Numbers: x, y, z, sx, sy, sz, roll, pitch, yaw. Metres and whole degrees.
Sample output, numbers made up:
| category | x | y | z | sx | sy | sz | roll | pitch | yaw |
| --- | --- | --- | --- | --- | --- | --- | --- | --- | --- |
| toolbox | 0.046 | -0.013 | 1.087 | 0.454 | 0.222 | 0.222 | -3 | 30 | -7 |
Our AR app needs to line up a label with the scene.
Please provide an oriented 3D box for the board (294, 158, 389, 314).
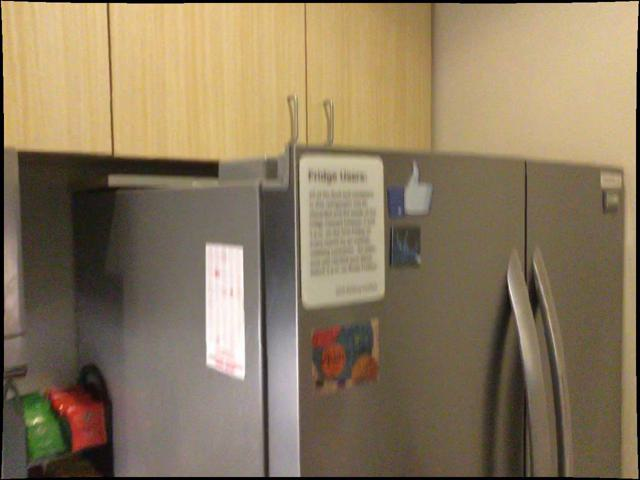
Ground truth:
| category | x | y | z | sx | sy | sz | roll | pitch | yaw |
| --- | --- | --- | --- | --- | --- | --- | --- | --- | --- |
| board | 0.030 | -0.010 | 0.710 | 0.130 | 0.180 | 0.020 | -6 | 8 | -37 |

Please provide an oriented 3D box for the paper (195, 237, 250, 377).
| category | x | y | z | sx | sy | sz | roll | pitch | yaw |
| --- | --- | --- | --- | --- | --- | --- | --- | --- | --- |
| paper | -0.140 | 0.090 | 0.820 | 0.020 | 0.180 | 0.110 | -6 | 8 | -37 |
